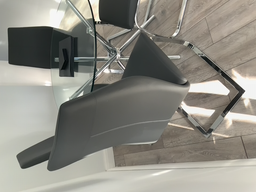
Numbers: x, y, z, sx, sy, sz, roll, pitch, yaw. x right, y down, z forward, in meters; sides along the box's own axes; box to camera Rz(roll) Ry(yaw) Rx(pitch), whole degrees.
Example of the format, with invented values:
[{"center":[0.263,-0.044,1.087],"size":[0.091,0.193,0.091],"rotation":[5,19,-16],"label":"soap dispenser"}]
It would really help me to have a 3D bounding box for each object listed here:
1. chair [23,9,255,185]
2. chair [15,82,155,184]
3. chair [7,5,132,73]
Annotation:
[{"center":[0.060,-0.030,1.120],"size":[0.540,1.010,0.460],"rotation":[53,132,41],"label":"chair"},{"center":[-0.320,0.200,1.700],"size":[0.450,0.980,0.590],"rotation":[9,99,55],"label":"chair"},{"center":[-0.540,-0.450,2.000],"size":[0.590,0.990,0.400],"rotation":[3,94,56],"label":"chair"}]
